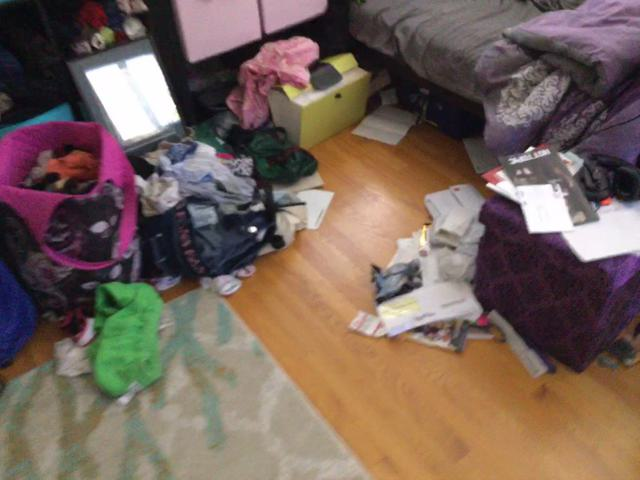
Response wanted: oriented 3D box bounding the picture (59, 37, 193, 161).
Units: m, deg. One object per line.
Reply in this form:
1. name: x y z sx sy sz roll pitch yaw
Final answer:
1. picture: -0.690 -0.510 2.090 0.350 0.340 0.090 -27 24 -26
